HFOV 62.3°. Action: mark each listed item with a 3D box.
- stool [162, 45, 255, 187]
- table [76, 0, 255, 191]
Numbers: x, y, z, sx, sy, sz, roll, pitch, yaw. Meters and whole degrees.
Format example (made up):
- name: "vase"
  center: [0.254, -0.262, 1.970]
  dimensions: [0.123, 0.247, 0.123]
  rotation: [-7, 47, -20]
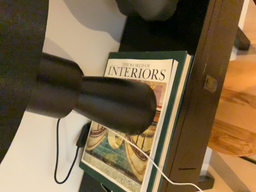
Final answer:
- name: "stool"
  center: [0.480, 0.080, 0.860]
  dimensions: [0.390, 0.450, 0.400]
  rotation: [19, 92, 45]
- name: "table"
  center: [0.310, 0.020, 0.800]
  dimensions: [0.260, 0.800, 0.820]
  rotation: [13, 87, 45]
